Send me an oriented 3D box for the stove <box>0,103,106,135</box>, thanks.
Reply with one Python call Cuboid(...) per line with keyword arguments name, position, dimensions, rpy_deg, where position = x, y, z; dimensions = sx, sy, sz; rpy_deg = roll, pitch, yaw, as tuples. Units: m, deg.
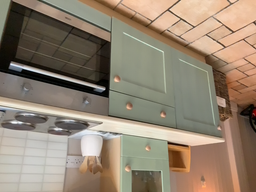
Cuboid(name="stove", position=(-0.530, 0.160, 1.260), dimensions=(0.610, 0.010, 0.530), rpy_deg=(15, 155, -35))
